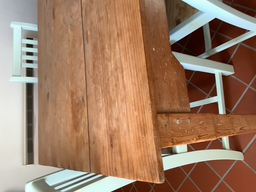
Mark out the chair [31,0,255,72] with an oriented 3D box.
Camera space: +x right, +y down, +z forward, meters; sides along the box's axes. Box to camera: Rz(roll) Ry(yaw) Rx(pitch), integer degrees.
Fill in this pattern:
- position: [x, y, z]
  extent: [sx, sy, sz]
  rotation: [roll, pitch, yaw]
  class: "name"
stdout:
- position: [0.160, -0.430, 0.840]
  extent: [0.500, 0.900, 0.470]
  rotation: [-13, 77, 52]
  class: "chair"
